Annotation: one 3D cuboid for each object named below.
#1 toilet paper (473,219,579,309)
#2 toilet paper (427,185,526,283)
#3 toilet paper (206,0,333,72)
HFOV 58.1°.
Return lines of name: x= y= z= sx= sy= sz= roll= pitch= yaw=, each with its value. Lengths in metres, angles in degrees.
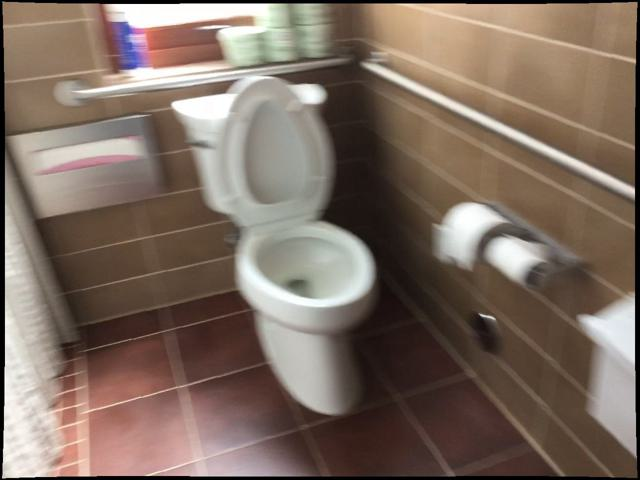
toilet paper: x=0.469 y=0.050 z=1.330 sx=0.140 sy=0.100 sz=0.180 roll=-13 pitch=32 yaw=-16
toilet paper: x=0.389 y=-0.020 z=1.460 sx=0.150 sy=0.150 sz=0.190 roll=-13 pitch=32 yaw=-16
toilet paper: x=-0.170 y=-0.732 z=1.990 sx=0.389 sy=0.210 sz=0.170 roll=-13 pitch=32 yaw=-16
